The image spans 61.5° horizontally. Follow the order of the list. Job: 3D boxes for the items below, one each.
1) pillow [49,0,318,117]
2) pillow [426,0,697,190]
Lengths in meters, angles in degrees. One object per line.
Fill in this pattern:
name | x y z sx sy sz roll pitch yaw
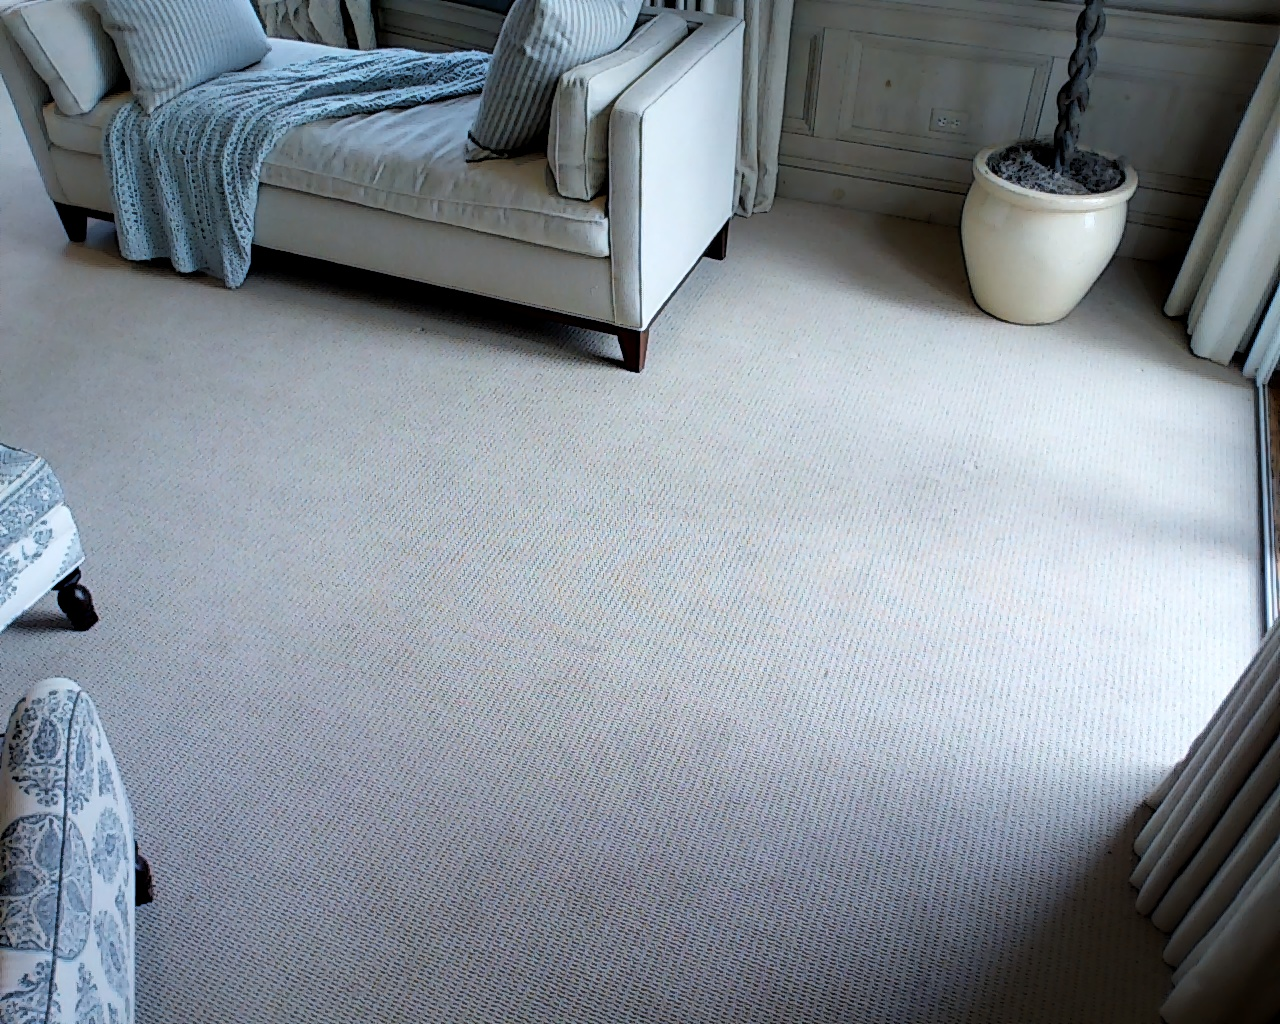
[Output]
pillow | -1.310 -1.500 3.000 0.320 0.520 0.560 -7 34 32
pillow | -0.180 -1.190 2.660 0.310 0.530 0.540 -6 35 32
